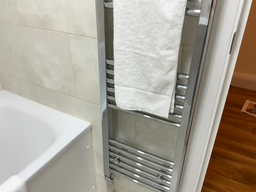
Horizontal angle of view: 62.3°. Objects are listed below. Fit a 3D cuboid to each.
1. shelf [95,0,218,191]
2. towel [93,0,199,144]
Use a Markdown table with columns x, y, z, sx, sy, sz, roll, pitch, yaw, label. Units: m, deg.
| x | y | z | sx | sy | sz | roll | pitch | yaw | label |
| --- | --- | --- | --- | --- | --- | --- | --- | --- | --- |
| 0.070 | 0.060 | 0.930 | 0.420 | 1.290 | 0.040 | 14 | 32 | 21 | shelf |
| 0.060 | -0.160 | 0.740 | 0.280 | 0.600 | 0.190 | 13 | 32 | 20 | towel |
